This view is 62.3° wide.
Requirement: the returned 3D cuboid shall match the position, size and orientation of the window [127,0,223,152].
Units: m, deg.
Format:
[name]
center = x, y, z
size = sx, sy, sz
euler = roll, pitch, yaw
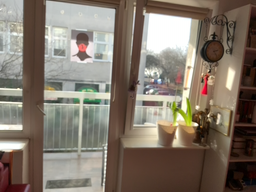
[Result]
[window]
center = 0.460, -0.170, 2.220
size = 0.800, 1.490, 0.250
euler = 3, 8, -12
